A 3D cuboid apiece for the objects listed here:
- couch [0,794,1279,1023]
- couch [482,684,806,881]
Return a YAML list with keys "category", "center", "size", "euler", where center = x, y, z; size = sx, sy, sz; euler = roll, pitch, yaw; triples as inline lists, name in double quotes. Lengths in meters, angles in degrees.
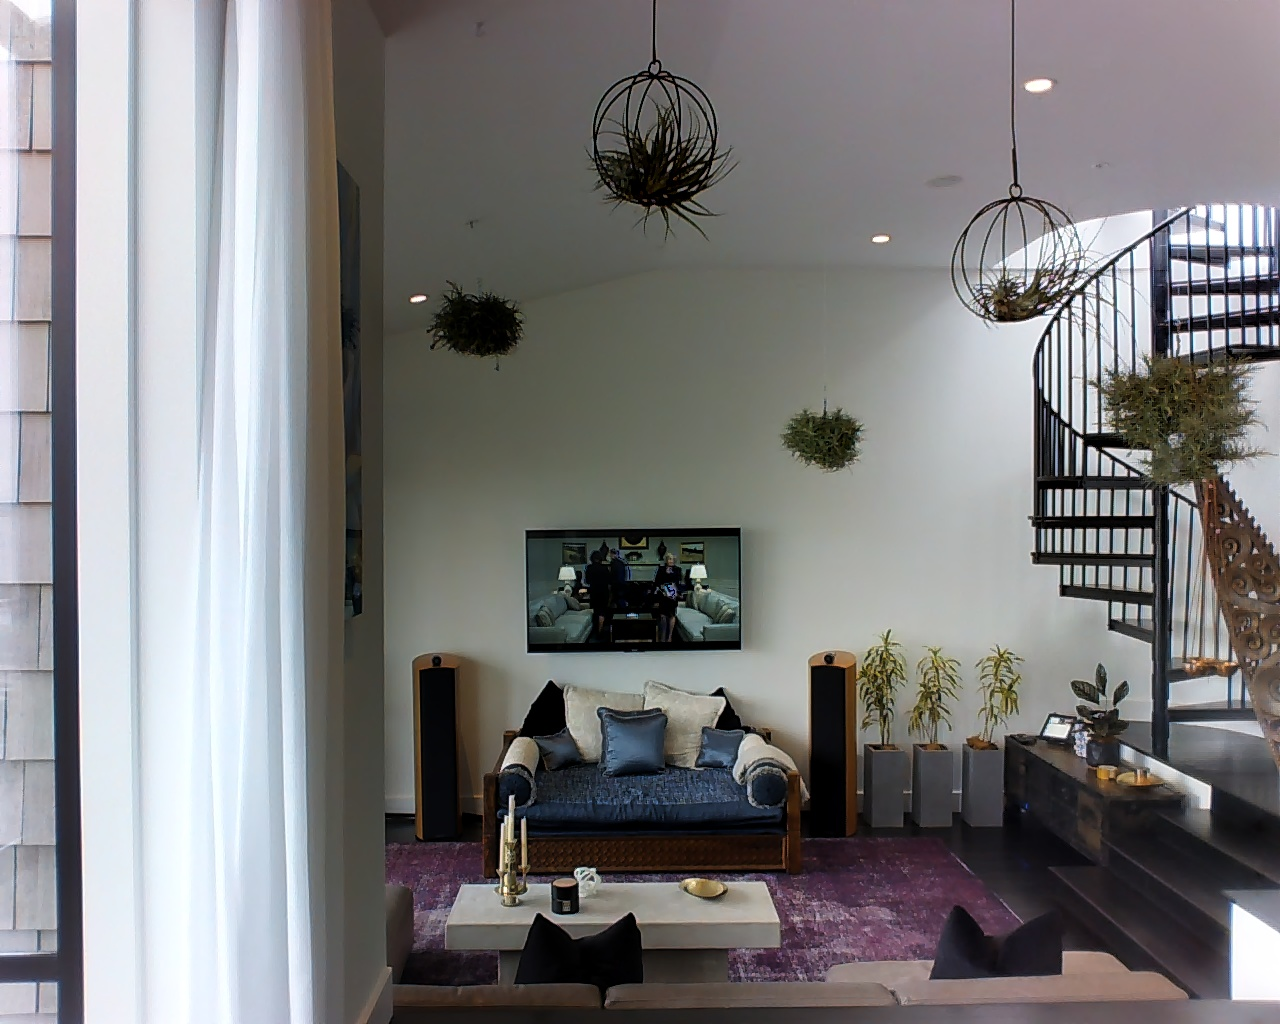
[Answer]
- category: "couch"
  center: [-0.030, 1.770, 4.240]
  size: [3.850, 0.710, 2.130]
  euler: [0, 1, -1]
- category: "couch"
  center: [0.020, 1.660, 6.830]
  size: [1.860, 0.900, 1.320]
  euler: [0, 1, 0]
